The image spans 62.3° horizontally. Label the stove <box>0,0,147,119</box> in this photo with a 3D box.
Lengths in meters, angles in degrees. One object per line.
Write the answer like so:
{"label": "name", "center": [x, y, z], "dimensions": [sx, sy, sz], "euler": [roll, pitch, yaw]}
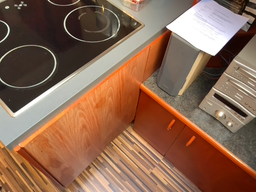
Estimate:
{"label": "stove", "center": [-0.310, -0.270, 0.830], "dimensions": [0.490, 0.020, 0.620], "euler": [40, 63, 18]}
